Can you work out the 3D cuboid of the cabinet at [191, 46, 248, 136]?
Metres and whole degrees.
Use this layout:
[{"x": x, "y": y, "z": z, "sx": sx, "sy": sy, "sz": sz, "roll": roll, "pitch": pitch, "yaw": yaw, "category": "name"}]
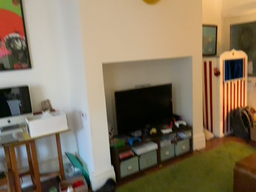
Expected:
[{"x": 1.650, "y": -0.140, "z": 3.850, "sx": 0.830, "sy": 1.450, "sz": 0.540, "roll": -10, "pitch": 12, "yaw": -33, "category": "cabinet"}]
